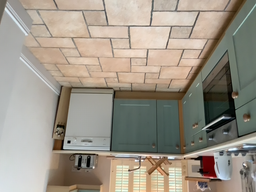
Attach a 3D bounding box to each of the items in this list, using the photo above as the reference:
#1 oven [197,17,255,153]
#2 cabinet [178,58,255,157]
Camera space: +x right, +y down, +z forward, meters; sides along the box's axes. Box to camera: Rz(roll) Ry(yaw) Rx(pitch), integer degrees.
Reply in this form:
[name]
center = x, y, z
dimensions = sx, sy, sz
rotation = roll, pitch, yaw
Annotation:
[oven]
center = 0.940, -0.040, 1.660
dimensions = 0.580, 0.890, 0.610
rotation = 2, 162, 3
[cabinet]
center = 0.960, 0.190, 2.380
dimensions = 0.590, 0.890, 0.890
rotation = 2, 162, 3
